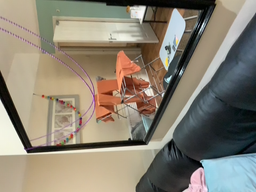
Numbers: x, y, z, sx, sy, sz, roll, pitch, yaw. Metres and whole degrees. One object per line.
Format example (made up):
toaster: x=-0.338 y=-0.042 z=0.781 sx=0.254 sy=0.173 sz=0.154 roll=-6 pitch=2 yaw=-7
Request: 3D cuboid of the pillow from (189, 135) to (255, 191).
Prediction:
pillow: x=0.720 y=0.560 z=1.400 sx=0.210 sy=0.450 sz=0.410 roll=15 pitch=-136 yaw=-38
